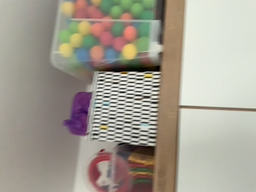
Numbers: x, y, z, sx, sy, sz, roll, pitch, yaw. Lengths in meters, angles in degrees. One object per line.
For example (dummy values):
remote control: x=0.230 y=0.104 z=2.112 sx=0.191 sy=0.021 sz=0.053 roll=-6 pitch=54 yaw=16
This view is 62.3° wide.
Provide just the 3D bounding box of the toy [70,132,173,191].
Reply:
toy: x=0.020 y=0.430 z=1.140 sx=0.610 sy=0.360 sz=0.430 roll=30 pitch=-118 yaw=-69

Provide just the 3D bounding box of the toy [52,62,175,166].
toy: x=-0.020 y=0.100 z=1.170 sx=0.550 sy=0.480 sz=0.410 roll=26 pitch=-113 yaw=-70
